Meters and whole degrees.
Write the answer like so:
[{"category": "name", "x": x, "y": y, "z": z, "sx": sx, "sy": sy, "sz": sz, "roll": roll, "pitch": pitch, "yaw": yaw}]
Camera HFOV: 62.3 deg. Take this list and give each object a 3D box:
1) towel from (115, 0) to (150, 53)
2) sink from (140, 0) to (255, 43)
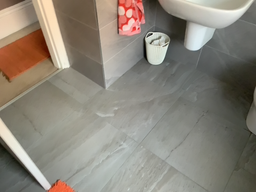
[{"category": "towel", "x": 0.040, "y": -0.630, "z": 1.600, "sx": 0.090, "sy": 0.530, "sz": 0.310, "roll": 30, "pitch": 54, "yaw": 23}, {"category": "sink", "x": 0.460, "y": -0.630, "z": 1.390, "sx": 0.580, "sy": 0.160, "sz": 0.480, "roll": 31, "pitch": 55, "yaw": 24}]
